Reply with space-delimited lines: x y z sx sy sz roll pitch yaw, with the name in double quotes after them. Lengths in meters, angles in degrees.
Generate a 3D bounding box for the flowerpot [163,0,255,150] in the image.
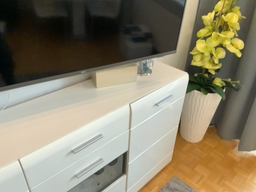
0.650 -0.190 1.930 0.350 1.350 0.470 -3 31 -10 "flowerpot"
